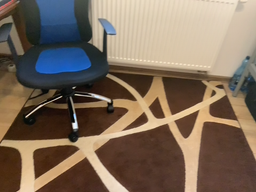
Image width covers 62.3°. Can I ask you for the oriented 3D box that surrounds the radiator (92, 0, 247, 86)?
[{"bbox_3d":[0.240,-0.450,1.640,1.010,0.640,0.150,9,40,4],"label":"radiator"}]

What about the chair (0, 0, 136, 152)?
[{"bbox_3d":[-0.400,-0.370,1.240,0.630,1.130,0.710,-9,43,-17],"label":"chair"}]
